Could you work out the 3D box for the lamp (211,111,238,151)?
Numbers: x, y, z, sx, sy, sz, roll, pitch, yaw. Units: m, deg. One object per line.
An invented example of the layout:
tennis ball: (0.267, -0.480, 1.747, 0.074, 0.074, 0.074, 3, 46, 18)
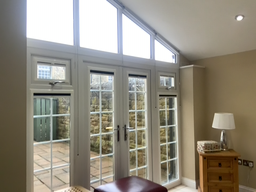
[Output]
lamp: (1.450, 0.510, 3.210, 0.300, 0.540, 0.330, 0, -1, 13)
